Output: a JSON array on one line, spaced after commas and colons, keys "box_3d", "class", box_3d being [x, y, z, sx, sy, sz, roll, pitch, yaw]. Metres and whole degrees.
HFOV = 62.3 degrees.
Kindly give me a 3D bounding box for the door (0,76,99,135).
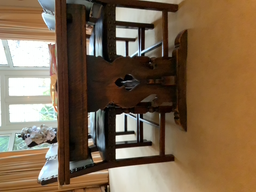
[{"box_3d": [-1.750, 0.170, 4.710, 0.210, 2.160, 1.200, 171, 97, -74], "class": "door"}]
